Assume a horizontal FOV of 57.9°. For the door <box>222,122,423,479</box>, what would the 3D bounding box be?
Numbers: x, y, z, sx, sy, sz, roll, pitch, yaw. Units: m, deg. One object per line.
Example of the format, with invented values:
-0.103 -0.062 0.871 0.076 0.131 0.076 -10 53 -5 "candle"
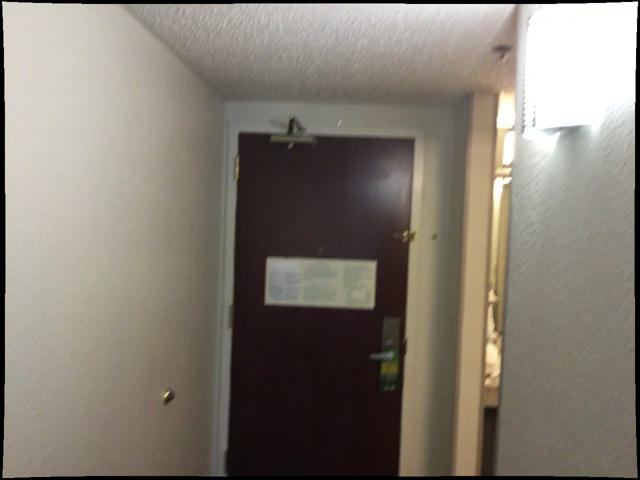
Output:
0.000 0.420 2.920 0.909 1.952 0.130 3 3 1 "door"
